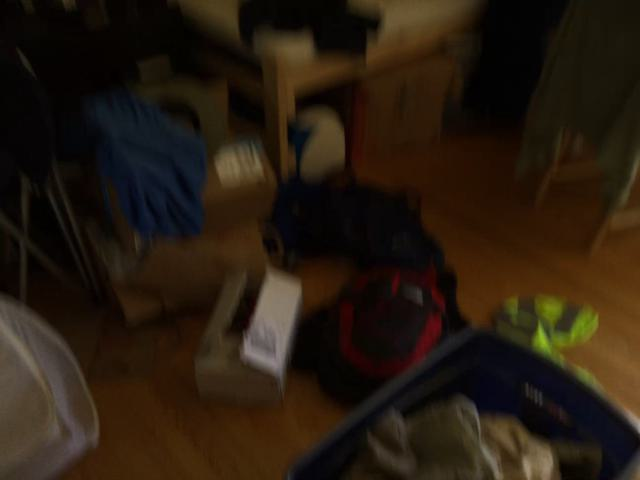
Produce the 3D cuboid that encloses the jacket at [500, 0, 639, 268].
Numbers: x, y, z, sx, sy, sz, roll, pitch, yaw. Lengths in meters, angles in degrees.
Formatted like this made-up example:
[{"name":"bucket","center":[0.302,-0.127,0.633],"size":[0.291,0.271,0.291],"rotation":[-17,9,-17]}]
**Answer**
[{"name":"jacket","center":[1.090,-0.500,1.940],"size":[0.560,0.940,0.550],"rotation":[-16,42,-17]}]
